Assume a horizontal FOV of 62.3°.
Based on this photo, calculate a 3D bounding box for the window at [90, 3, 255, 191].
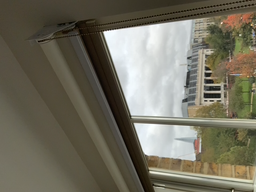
[{"bbox_3d":[0.630,0.130,0.900,0.080,1.370,1.040,-68,-30,-44],"label":"window"}]
